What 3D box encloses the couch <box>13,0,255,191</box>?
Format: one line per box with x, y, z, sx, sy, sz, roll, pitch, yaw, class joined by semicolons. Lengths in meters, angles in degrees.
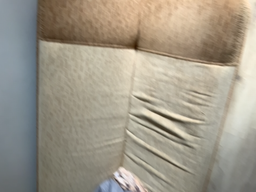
-0.020;0.410;1.180;0.840;0.740;1.940;18;111;36;couch
